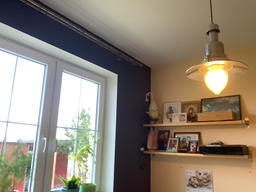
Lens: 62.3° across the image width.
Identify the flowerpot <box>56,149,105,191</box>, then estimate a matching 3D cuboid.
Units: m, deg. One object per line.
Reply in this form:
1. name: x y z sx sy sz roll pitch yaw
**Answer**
1. flowerpot: -0.470 0.790 2.130 0.350 0.490 0.300 -8 -16 37
